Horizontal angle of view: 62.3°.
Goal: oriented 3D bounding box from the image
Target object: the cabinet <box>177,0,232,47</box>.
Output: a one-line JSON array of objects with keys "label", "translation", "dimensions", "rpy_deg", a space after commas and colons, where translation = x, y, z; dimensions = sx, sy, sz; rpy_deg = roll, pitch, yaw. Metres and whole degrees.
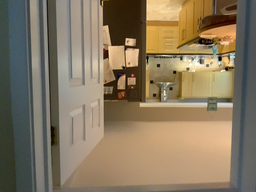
[{"label": "cabinet", "translation": [1.220, -1.400, 3.650], "dimensions": [0.270, 0.860, 1.600], "rpy_deg": [0, -175, -4]}]

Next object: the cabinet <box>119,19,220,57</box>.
[{"label": "cabinet", "translation": [1.100, -1.580, 5.920], "dimensions": [2.690, 0.900, 0.590], "rpy_deg": [0, -175, -4]}]
